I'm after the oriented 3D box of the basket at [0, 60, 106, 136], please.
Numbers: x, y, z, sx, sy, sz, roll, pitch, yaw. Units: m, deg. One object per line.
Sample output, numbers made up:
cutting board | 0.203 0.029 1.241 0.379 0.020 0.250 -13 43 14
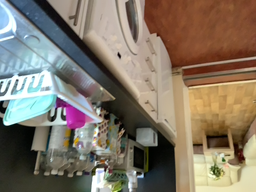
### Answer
basket | -0.340 0.040 0.910 0.350 0.170 0.350 -7 155 22
